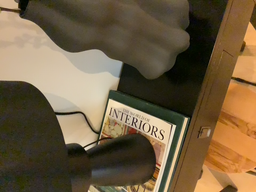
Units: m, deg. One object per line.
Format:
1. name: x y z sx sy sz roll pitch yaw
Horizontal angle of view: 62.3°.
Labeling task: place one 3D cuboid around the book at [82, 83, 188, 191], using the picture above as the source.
1. book: 0.000 0.160 0.550 0.200 0.070 0.340 22 101 40

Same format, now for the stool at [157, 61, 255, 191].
1. stool: 0.470 0.130 0.930 0.390 0.450 0.400 26 103 40
